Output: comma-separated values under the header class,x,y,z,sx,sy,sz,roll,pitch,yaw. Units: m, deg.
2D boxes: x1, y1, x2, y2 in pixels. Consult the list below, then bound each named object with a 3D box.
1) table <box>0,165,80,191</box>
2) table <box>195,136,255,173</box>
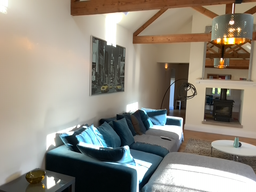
class,x,y,z,sx,sy,sz,roll,pitch,yaw
table,-0.960,1.130,2.290,0.590,0.430,0.640,5,6,21
table,2.020,1.120,4.250,0.900,0.310,0.920,0,7,-29
